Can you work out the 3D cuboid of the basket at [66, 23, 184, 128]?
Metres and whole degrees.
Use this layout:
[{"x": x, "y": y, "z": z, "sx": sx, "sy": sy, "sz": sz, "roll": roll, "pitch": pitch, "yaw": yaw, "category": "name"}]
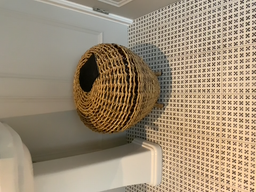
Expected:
[{"x": -0.020, "y": -0.080, "z": 1.190, "sx": 0.440, "sy": 0.490, "sz": 0.430, "roll": 0, "pitch": 89, "yaw": 51, "category": "basket"}]
